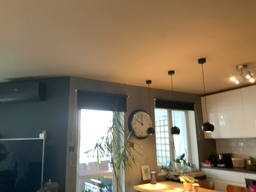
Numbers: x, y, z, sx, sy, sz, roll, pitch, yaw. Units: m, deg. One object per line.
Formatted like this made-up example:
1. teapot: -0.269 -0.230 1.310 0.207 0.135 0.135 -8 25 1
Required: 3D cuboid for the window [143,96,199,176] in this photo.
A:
1. window: 0.980 0.880 4.840 1.220 1.620 0.360 5 -13 -28
